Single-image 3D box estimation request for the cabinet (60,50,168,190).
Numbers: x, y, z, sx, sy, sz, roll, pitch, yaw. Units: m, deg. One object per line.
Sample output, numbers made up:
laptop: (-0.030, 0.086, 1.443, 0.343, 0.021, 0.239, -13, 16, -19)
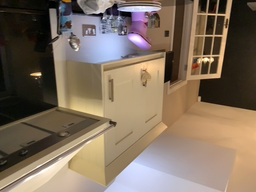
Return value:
cabinet: (-0.030, 0.090, 1.950, 0.350, 0.900, 1.110, 11, -160, 30)
